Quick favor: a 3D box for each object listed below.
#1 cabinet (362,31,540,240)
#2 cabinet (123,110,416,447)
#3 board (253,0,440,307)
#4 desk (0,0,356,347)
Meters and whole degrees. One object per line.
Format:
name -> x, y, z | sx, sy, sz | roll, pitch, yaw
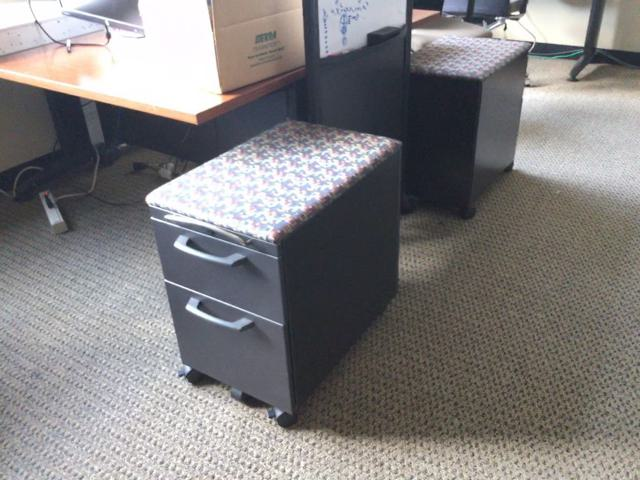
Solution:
cabinet -> 0.540, -0.460, 2.370 | 0.420, 0.590, 0.670 | 19, 39, 32
cabinet -> -0.080, 0.060, 1.590 | 0.420, 0.590, 0.630 | 18, 39, 32
board -> 0.120, -0.680, 1.750 | 0.170, 1.680, 0.740 | 18, 39, 32
desk -> -0.750, -0.410, 2.190 | 1.600, 0.830, 0.730 | 18, 39, 32
